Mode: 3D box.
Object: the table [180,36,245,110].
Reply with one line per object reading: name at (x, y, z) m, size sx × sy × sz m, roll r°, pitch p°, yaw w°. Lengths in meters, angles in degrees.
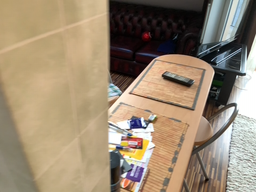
table at (1.010, -0.310, 2.510) m, size 0.450 × 0.500 × 0.800 m, roll 20°, pitch 38°, yaw 24°
